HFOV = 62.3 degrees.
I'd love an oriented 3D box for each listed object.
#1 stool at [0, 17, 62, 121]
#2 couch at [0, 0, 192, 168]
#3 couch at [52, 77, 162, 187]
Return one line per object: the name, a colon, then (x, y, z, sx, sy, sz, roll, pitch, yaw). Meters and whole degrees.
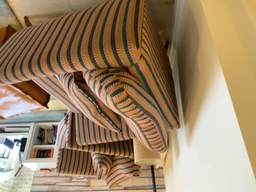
stool: (-0.890, -0.150, 1.540, 0.520, 0.410, 0.520, -13, 146, 19)
couch: (-0.180, -0.120, 1.250, 0.830, 0.790, 0.890, -13, 146, 19)
couch: (-0.270, 0.450, 2.200, 0.820, 0.770, 0.910, 10, 147, -18)
